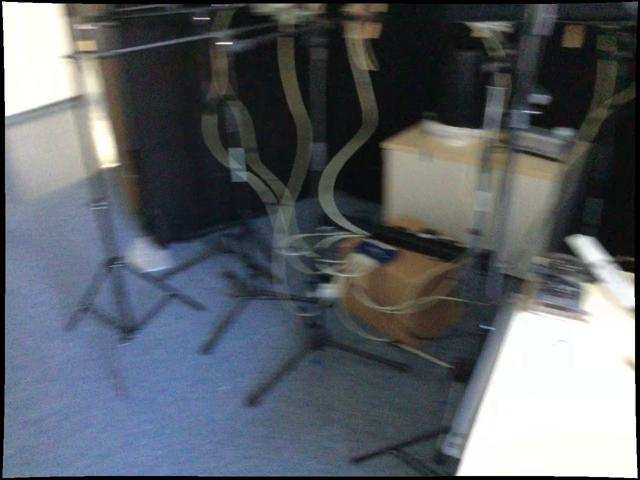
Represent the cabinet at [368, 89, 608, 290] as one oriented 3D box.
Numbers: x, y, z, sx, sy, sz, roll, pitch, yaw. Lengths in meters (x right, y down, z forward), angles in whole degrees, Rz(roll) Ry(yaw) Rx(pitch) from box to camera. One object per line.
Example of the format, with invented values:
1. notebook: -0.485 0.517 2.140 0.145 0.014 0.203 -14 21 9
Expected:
1. cabinet: 0.739 -0.280 2.680 0.880 0.610 0.500 19 38 34
